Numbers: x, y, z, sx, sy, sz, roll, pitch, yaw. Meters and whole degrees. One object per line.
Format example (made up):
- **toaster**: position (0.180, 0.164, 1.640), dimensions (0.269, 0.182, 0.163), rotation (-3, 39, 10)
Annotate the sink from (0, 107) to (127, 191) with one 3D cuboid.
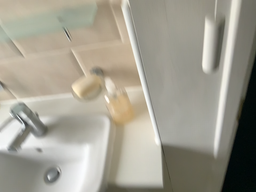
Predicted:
- **sink**: position (-0.300, 0.280, 0.700), dimensions (0.530, 0.210, 0.400), rotation (-5, 49, 13)
